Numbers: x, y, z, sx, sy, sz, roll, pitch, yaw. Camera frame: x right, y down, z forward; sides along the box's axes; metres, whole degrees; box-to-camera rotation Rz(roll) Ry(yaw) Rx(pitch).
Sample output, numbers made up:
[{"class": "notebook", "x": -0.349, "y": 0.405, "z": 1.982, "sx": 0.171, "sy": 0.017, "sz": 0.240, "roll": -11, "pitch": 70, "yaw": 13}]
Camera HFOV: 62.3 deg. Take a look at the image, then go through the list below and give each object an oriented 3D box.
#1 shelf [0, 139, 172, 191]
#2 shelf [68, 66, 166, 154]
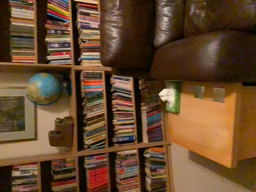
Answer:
[{"class": "shelf", "x": -0.480, "y": 1.180, "z": 2.010, "sx": 0.320, "sy": 2.000, "sz": 1.290, "roll": -14, "pitch": 78, "yaw": 63}, {"class": "shelf", "x": -0.110, "y": 0.130, "z": 2.340, "sx": 0.290, "sy": 1.000, "sz": 0.820, "roll": -14, "pitch": 78, "yaw": 63}]
